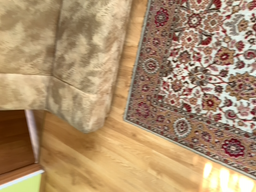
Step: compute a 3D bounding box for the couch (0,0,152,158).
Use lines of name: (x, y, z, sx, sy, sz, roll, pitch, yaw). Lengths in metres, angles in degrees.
couch: (-0.450, -0.770, 1.470, 0.940, 0.840, 1.940, 20, 105, 32)
